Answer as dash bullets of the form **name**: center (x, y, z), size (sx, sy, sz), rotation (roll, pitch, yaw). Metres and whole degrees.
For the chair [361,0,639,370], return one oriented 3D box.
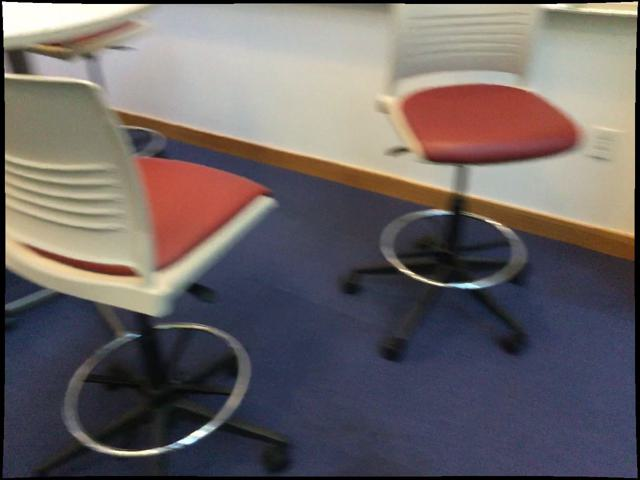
- **chair**: center (0.440, -0.240, 1.770), size (0.529, 1.121, 0.590), rotation (-5, 35, -4)
